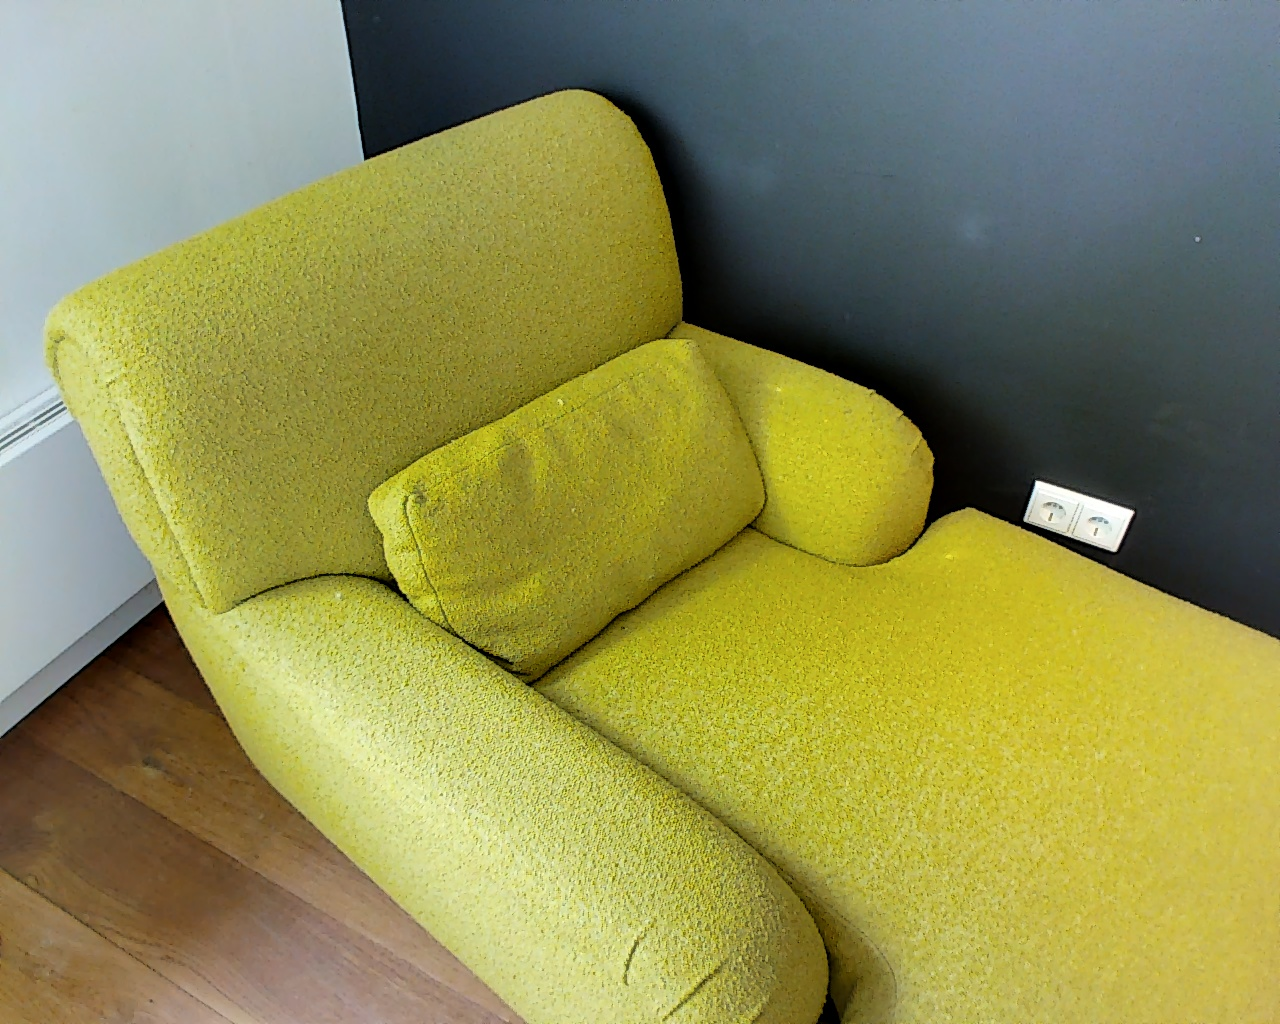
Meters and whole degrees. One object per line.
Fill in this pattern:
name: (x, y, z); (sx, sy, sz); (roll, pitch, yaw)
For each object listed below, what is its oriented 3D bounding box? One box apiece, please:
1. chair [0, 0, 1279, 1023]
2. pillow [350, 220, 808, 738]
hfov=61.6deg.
chair: (0.140, 0.090, 1.360); (1.670, 0.850, 1.110); (29, 49, 28)
pillow: (-0.060, -0.020, 1.450); (0.170, 0.350, 0.640); (37, 97, 19)
